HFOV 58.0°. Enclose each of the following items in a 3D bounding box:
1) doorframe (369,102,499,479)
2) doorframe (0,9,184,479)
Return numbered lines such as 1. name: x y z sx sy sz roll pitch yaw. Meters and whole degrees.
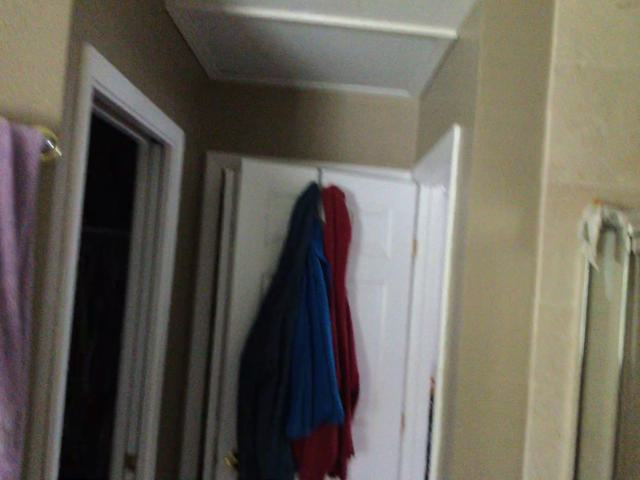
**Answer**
1. doorframe: 0.340 0.670 2.050 0.200 2.080 0.890 4 -4 -1
2. doorframe: -0.630 0.590 1.640 0.160 2.080 1.000 4 -4 -4
